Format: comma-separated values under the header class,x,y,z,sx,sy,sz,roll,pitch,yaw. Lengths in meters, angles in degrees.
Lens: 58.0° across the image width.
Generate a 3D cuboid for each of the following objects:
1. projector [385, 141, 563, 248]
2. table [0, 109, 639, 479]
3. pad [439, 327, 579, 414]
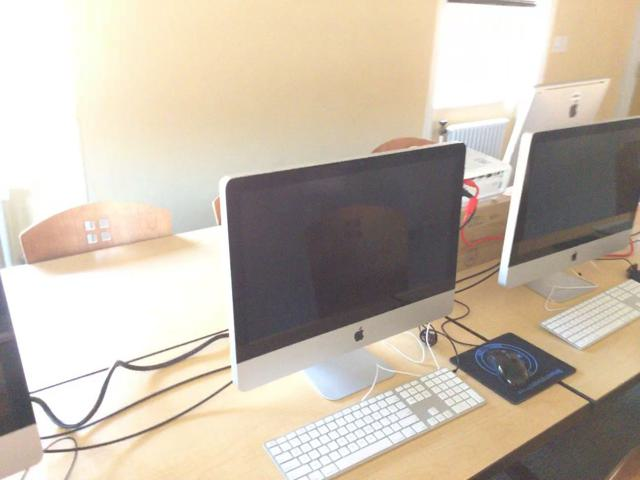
class,x,y,z,sx,sy,sz,roll,pitch,yaw
projector,0.410,-0.140,1.570,0.330,0.150,0.310,-15,30,-32
table,0.860,0.230,2.070,4.210,0.860,1.310,-15,30,-32
pad,0.390,0.260,1.190,0.240,0.020,0.160,-15,30,-32
